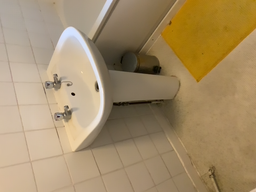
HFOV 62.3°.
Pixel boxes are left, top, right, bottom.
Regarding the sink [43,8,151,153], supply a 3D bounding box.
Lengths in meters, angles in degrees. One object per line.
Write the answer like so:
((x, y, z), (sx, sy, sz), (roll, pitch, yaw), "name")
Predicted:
((-0.210, -0.080, 1.130), (0.430, 0.220, 0.580), (-48, 58, 38), "sink")
